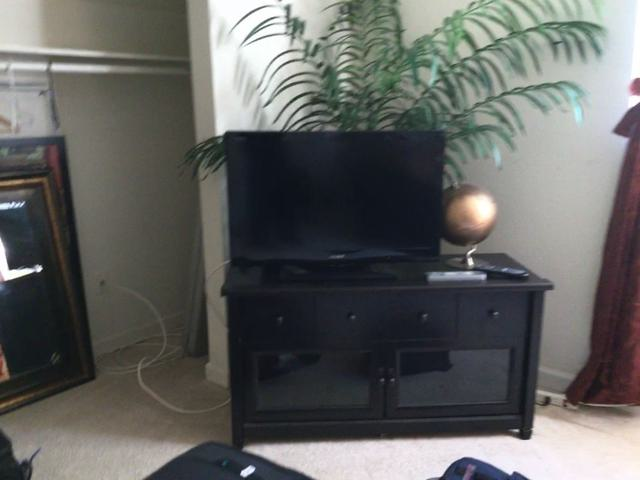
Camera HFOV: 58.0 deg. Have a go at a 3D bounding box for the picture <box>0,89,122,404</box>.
[{"bbox_3d":[-1.350,0.030,2.280,0.260,1.210,1.000,4,8,43],"label":"picture"}]
